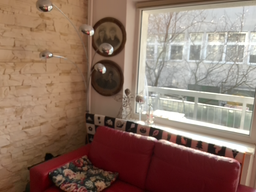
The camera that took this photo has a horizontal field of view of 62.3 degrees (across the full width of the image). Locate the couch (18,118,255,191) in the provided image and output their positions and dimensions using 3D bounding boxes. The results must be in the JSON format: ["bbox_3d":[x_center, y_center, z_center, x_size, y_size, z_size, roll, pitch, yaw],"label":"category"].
[{"bbox_3d":[0.060,0.860,1.850,1.750,0.840,1.060,9,11,32],"label":"couch"}]
